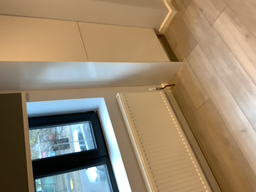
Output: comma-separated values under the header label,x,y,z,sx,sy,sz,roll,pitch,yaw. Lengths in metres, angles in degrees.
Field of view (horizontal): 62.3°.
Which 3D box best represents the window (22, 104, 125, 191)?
label,x,y,z,sx,sy,sz,roll,pitch,yaw
window,-0.380,0.760,1.650,0.070,0.710,1.520,-57,45,49
